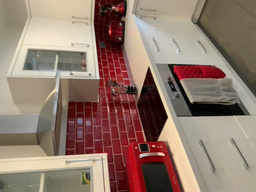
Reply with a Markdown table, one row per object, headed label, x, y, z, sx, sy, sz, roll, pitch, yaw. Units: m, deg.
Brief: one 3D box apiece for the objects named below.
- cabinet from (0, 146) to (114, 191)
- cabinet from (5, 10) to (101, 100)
| label | x | y | z | sx | sy | sz | roll | pitch | yaw |
| --- | --- | --- | --- | --- | --- | --- | --- | --- | --- |
| cabinet | -0.520 | 0.650 | 1.310 | 0.380 | 0.810 | 0.500 | 105 | 160 | -44 |
| cabinet | -0.770 | -0.490 | 2.390 | 0.380 | 0.810 | 1.110 | 105 | 160 | -44 |
